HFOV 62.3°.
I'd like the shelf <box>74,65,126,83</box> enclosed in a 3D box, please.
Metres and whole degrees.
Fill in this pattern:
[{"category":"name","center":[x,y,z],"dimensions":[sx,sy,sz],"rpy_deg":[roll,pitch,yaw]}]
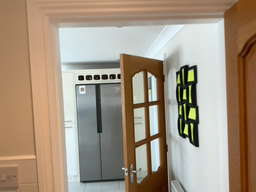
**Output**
[{"category":"shelf","center":[-0.530,-0.420,4.150],"dimensions":[0.920,0.290,0.640],"rpy_deg":[-2,2,-4]}]

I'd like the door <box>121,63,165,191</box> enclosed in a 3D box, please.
[{"category":"door","center":[0.190,0.690,2.070],"dimensions":[0.040,1.950,0.750],"rpy_deg":[-1,2,31]}]
